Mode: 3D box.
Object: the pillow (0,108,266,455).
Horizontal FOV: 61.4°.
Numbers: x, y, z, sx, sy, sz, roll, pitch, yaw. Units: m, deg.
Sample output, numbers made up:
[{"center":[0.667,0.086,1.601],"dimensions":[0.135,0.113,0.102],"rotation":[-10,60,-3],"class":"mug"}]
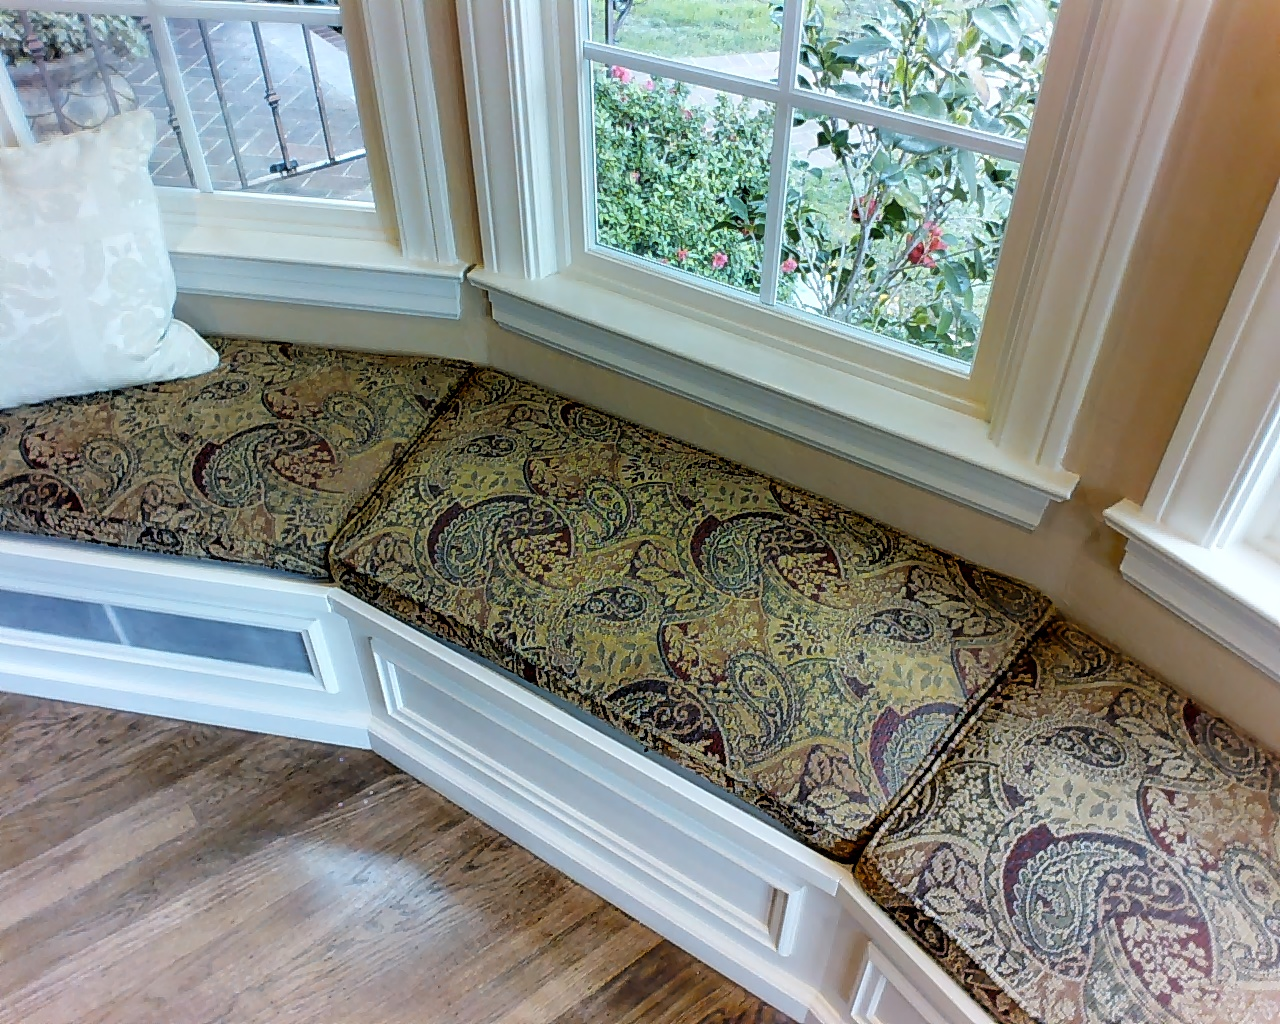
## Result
[{"center":[-0.960,-0.350,1.740],"dimensions":[0.550,0.400,0.180],"rotation":[-21,48,-10],"class":"pillow"}]
